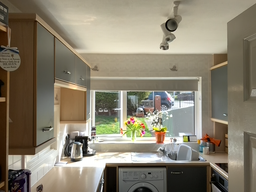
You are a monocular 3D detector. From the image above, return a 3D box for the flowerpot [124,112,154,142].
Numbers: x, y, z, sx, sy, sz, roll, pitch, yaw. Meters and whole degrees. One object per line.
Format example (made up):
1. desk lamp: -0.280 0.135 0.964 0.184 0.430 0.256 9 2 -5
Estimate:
1. flowerpot: 0.160 0.470 3.270 0.450 0.420 0.280 0 -1 0
